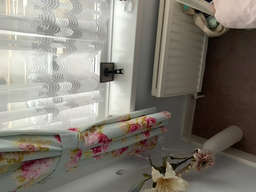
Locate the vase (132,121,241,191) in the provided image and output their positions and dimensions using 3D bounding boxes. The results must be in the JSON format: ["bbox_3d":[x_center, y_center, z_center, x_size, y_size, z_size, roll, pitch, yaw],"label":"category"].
[{"bbox_3d":[0.350,0.280,1.070,0.130,0.780,0.140,23,112,42],"label":"vase"}]

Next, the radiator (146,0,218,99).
[{"bbox_3d":[0.340,-0.540,1.130,0.060,0.490,1.080,18,108,43],"label":"radiator"}]
